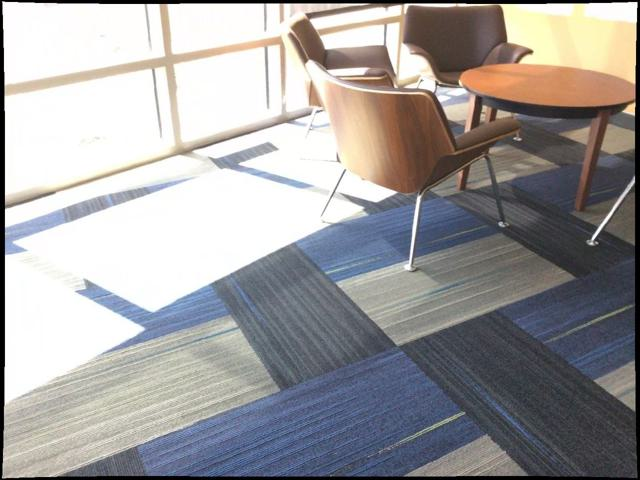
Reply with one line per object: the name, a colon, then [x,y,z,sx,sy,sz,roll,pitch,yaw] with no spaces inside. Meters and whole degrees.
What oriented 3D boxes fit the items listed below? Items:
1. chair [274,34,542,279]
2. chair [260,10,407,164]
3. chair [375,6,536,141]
chair: [0.359,-0.451,2.660,0.759,0.741,0.860,-22,36,-31]
chair: [0.100,-1.003,3.670,0.798,0.741,0.851,1,30,3]
chair: [0.888,-1.193,4.060,0.858,0.721,0.770,-3,30,-3]
